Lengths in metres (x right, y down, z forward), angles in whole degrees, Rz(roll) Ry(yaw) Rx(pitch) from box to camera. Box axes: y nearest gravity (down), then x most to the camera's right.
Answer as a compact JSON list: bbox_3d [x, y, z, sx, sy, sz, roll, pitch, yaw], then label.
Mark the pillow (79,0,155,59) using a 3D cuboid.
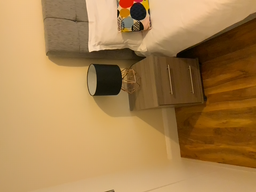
[{"bbox_3d":[-0.120,-0.750,1.750,0.160,0.500,0.790,-16,95,50],"label":"pillow"}]
